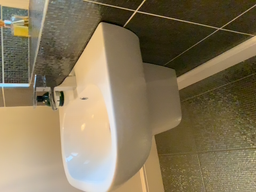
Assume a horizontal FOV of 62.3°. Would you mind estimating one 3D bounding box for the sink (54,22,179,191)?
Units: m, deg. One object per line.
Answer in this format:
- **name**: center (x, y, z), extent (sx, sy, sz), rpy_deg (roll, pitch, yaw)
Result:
- **sink**: center (-0.130, 0.110, 0.830), extent (0.660, 0.170, 0.450), rpy_deg (-31, 65, 57)
